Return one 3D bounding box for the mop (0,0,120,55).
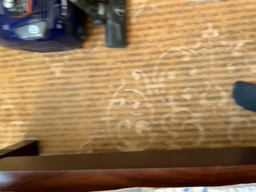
[{"bbox_3d":[-0.370,-0.320,0.740,0.600,0.450,0.250,-2,92,9],"label":"mop"}]
